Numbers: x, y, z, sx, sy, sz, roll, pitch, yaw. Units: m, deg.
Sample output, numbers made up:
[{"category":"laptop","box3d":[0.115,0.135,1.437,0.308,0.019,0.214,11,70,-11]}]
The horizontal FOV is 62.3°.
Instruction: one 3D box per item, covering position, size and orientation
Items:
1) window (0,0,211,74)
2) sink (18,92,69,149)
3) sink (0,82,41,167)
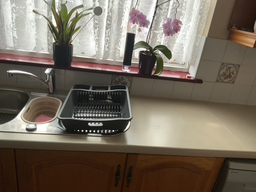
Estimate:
[{"category":"window","box3d":[-0.450,-0.660,1.290,2.030,0.900,0.070,4,24,-11]},{"category":"sink","box3d":[-0.470,0.130,1.230,0.200,0.180,0.320,5,24,-10]},{"category":"sink","box3d":[-0.790,0.120,1.180,0.450,0.220,0.510,5,24,-10]}]
